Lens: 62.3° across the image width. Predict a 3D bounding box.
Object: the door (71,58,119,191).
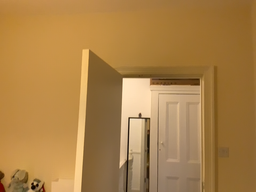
[{"bbox_3d":[-0.220,0.760,1.510,0.040,1.910,0.710,0,-6,14],"label":"door"}]
